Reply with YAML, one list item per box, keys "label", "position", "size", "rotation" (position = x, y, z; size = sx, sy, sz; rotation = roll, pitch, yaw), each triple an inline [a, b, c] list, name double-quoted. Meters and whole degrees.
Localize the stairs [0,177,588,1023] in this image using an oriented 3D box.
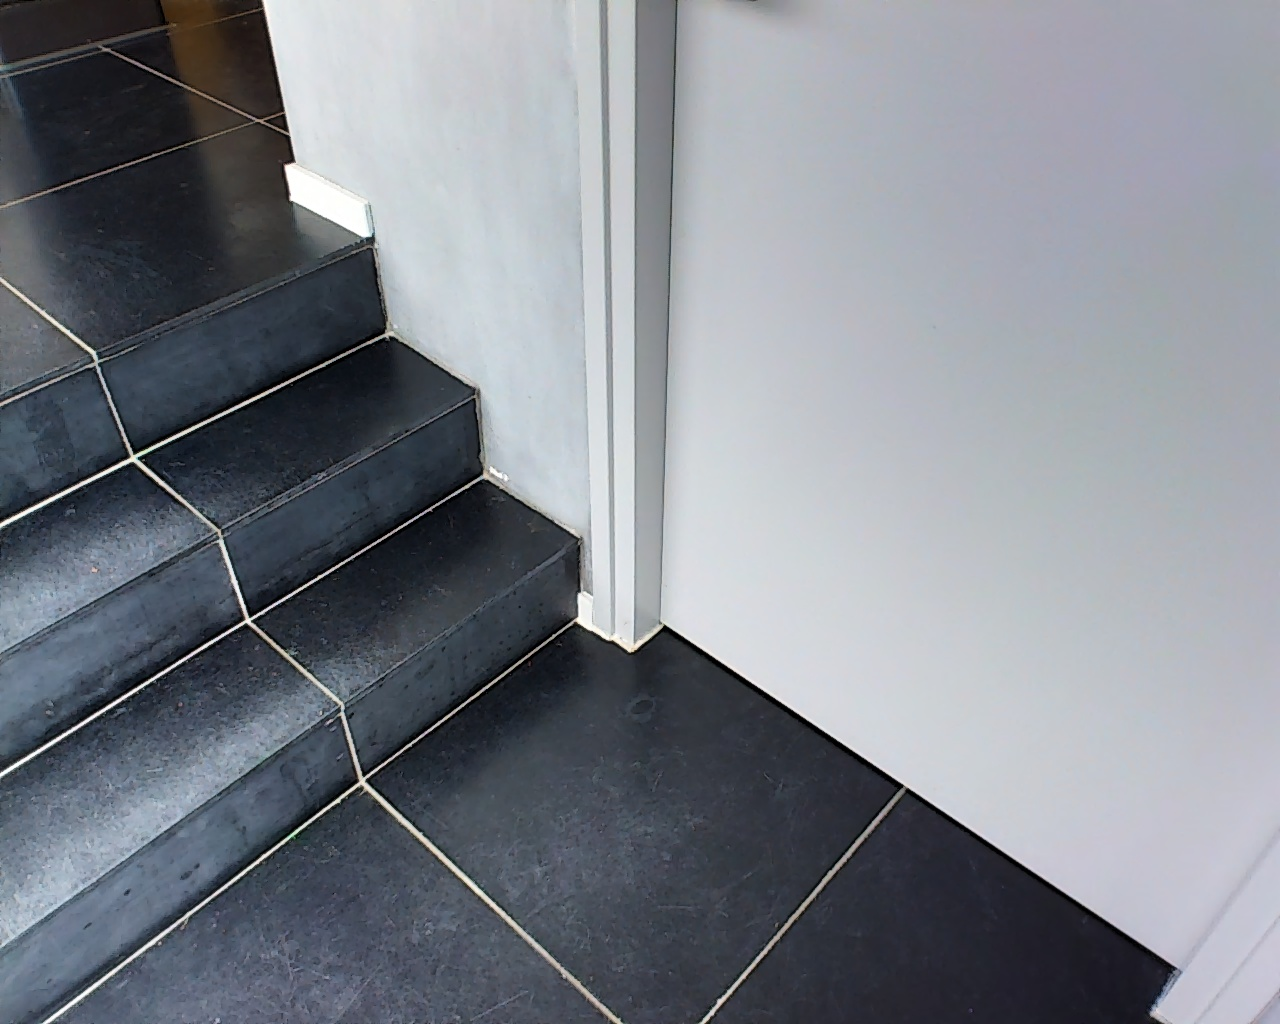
- label: "stairs"
  position: [-0.870, 0.260, 1.260]
  size: [0.490, 0.640, 1.780]
  rotation: [31, 50, 30]
